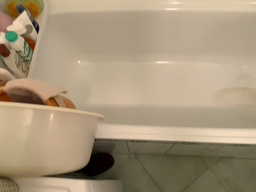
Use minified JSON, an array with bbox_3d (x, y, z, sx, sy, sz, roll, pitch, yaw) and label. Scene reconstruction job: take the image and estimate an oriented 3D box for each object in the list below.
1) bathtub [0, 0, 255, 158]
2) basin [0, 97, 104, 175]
[{"bbox_3d":[0.250,-0.060,1.170,1.640,0.570,0.700,1,69,3],"label":"bathtub"},{"bbox_3d":[-0.250,0.140,0.620,0.290,0.370,0.150,3,70,4],"label":"basin"}]
